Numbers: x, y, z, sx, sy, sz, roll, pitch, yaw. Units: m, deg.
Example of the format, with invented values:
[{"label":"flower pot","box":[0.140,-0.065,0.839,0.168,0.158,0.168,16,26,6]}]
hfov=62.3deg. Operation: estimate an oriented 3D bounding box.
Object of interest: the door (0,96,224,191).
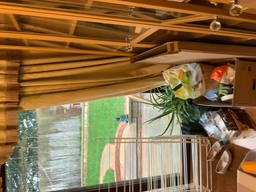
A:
[{"label":"door","box":[0.000,0.980,1.840,0.130,1.910,1.910,-171,80,-71]}]

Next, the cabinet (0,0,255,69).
[{"label":"cabinet","box":[0.290,-0.400,0.600,2.530,2.010,0.370,-175,84,-71]}]

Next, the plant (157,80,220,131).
[{"label":"plant","box":[0.580,0.070,2.120,0.450,0.420,0.450,-173,82,-71]}]
